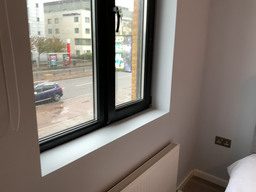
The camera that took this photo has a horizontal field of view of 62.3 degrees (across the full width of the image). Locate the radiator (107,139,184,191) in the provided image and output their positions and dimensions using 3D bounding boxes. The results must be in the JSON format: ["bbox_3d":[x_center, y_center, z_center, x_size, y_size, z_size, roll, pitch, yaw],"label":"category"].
[{"bbox_3d":[0.050,0.740,1.370,0.060,0.530,1.240,12,18,37],"label":"radiator"}]
